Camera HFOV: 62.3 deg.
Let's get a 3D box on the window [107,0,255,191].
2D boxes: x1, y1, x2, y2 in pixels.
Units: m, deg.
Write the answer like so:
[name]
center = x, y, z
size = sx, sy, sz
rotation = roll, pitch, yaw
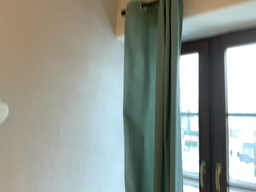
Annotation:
[window]
center = 0.420, 0.380, 1.260
size = 1.230, 1.860, 0.170
rotation = -2, -5, 33
